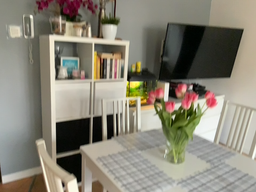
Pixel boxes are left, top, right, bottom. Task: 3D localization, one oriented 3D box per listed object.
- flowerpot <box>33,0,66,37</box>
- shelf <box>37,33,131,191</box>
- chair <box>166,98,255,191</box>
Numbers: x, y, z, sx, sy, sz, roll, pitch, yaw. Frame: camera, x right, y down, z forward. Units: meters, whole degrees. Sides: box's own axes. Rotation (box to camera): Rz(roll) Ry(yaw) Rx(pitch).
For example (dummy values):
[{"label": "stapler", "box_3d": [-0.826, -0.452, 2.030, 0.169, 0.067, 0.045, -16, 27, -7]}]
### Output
[{"label": "flowerpot", "box_3d": [-0.710, -0.740, 1.920, 0.230, 0.380, 0.240, -5, 16, -32]}, {"label": "shelf", "box_3d": [-0.460, 0.130, 2.220, 0.780, 1.450, 0.440, -6, 16, -34]}, {"label": "chair", "box_3d": [0.680, 0.560, 1.720, 0.520, 0.980, 0.430, -5, 16, -31]}]
